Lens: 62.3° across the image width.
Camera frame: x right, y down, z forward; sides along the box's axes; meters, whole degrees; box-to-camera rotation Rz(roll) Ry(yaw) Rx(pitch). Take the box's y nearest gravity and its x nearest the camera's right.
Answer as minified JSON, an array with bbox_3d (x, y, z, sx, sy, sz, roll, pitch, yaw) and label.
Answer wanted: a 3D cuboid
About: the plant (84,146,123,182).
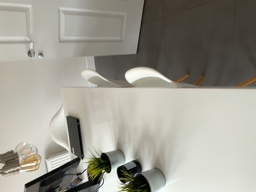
[{"bbox_3d":[-0.140,0.380,1.210,0.120,0.170,0.120,4,103,52],"label":"plant"}]

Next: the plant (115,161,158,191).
[{"bbox_3d":[0.040,0.400,0.960,0.100,0.150,0.140,1,100,52],"label":"plant"}]
